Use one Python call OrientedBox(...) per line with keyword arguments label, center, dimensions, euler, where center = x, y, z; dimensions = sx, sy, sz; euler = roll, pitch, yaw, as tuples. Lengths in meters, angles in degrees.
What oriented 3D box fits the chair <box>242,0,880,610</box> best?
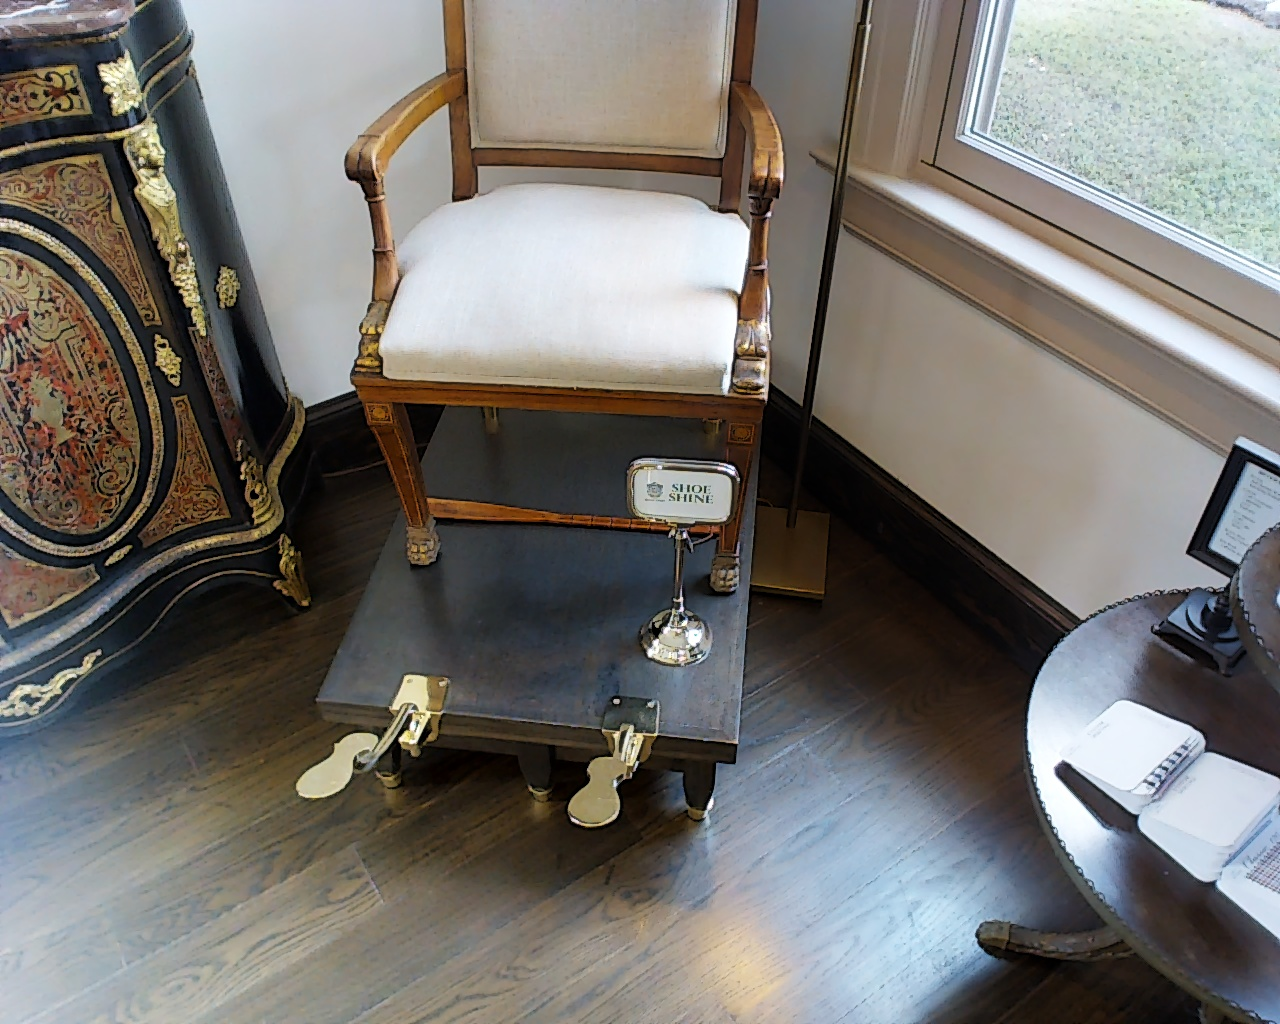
OrientedBox(label="chair", center=(-0.060, -0.420, 1.620), dimensions=(0.650, 0.900, 0.660), euler=(3, 43, 4))
